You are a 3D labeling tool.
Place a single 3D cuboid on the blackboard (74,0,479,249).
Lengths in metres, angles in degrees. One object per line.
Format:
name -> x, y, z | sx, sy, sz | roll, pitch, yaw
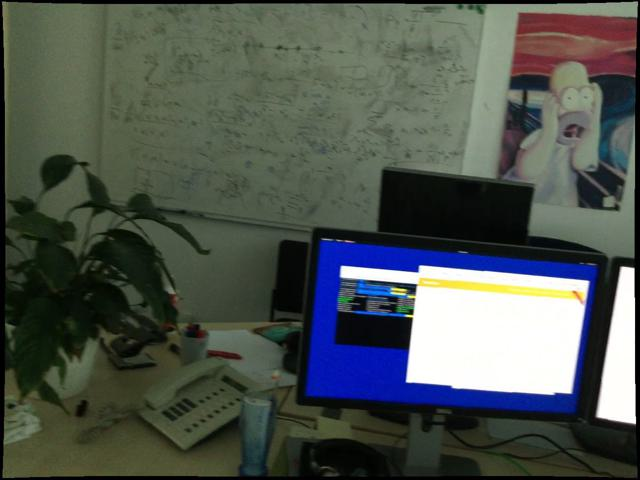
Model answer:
blackboard -> -0.310, -0.721, 3.040 | 2.078, 1.291, 0.140 | 7, 11, 10
